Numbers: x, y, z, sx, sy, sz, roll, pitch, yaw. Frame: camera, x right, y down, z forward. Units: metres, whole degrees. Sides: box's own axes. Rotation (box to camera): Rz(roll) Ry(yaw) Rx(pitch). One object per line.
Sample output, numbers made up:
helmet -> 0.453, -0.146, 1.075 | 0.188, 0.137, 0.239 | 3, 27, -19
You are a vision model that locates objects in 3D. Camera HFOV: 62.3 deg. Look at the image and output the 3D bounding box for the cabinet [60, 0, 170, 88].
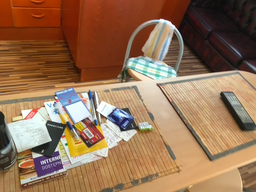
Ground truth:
cabinet -> -0.180, -0.640, 1.790 | 0.640, 0.930, 0.600 | -7, 50, -25
